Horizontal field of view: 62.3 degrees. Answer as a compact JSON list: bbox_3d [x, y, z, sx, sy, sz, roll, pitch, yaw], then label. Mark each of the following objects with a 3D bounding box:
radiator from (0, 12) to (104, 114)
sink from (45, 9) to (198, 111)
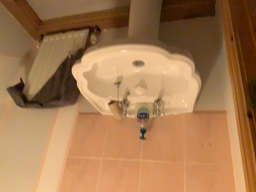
[{"bbox_3d":[-0.530,-0.240,1.490,0.600,0.720,0.140,-3,150,17],"label":"radiator"},{"bbox_3d":[0.020,-0.110,1.000,0.580,0.170,0.470,-2,150,18],"label":"sink"}]
